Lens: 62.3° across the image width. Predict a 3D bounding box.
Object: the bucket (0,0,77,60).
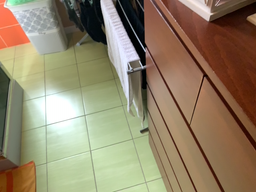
[{"bbox_3d":[-0.860,-0.790,2.180,0.470,0.710,0.350,-10,53,-1],"label":"bucket"}]
